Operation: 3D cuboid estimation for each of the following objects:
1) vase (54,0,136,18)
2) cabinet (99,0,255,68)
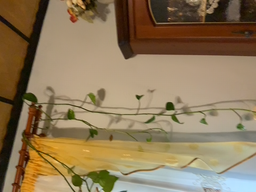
[{"bbox_3d":[-0.190,-0.620,1.260,0.220,0.440,0.280,-62,-27,-64],"label":"vase"},{"bbox_3d":[0.510,-0.500,1.010,0.560,1.100,0.540,53,-138,-73],"label":"cabinet"}]
